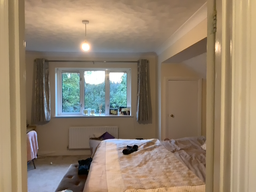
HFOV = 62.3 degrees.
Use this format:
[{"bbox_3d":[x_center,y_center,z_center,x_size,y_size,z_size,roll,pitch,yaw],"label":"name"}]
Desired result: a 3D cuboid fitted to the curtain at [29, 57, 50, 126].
[{"bbox_3d":[-1.960,-0.090,4.710,0.370,1.500,0.180,0,2,0],"label":"curtain"}]
